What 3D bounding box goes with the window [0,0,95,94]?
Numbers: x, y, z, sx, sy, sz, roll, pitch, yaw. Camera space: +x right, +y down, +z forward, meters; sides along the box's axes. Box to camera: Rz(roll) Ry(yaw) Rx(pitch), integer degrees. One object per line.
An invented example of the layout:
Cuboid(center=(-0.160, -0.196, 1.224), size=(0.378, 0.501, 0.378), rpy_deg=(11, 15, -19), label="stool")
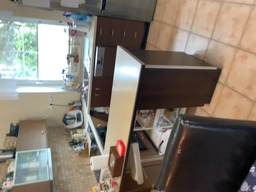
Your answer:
Cuboid(center=(-1.790, -0.750, 3.420), size=(0.290, 2.350, 1.470), rpy_deg=(-127, 42, -53), label="window")
